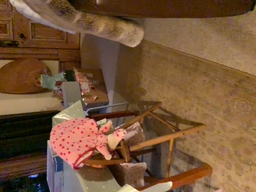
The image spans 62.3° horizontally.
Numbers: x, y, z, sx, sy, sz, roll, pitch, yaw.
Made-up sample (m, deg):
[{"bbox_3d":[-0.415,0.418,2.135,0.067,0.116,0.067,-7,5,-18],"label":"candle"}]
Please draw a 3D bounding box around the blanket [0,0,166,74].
[{"bbox_3d":[-0.150,-0.590,1.010,0.580,0.720,0.730,12,112,15],"label":"blanket"}]
